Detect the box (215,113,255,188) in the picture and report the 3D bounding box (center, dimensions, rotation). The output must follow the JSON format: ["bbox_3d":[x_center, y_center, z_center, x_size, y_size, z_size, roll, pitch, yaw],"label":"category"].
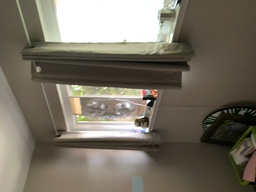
[{"bbox_3d":[1.250,0.580,2.170,0.730,0.300,0.460,97,172,-49],"label":"box"}]
